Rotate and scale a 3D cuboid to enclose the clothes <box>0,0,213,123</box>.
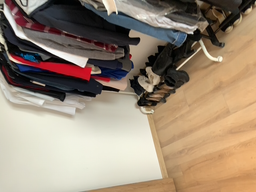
[{"bbox_3d":[-0.320,-0.340,1.660,1.210,1.200,0.700,-43,51,49],"label":"clothes"}]
